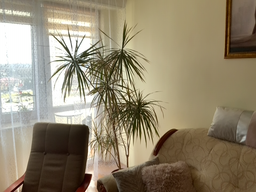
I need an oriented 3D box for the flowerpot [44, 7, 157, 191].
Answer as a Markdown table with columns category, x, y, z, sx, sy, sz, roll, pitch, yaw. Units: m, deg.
| category | x | y | z | sx | sy | sz | roll | pitch | yaw |
| --- | --- | --- | --- | --- | --- | --- | --- | --- | --- |
| flowerpot | -0.210 | 0.130 | 2.430 | 0.890 | 1.900 | 0.990 | 3 | 10 | 16 |
